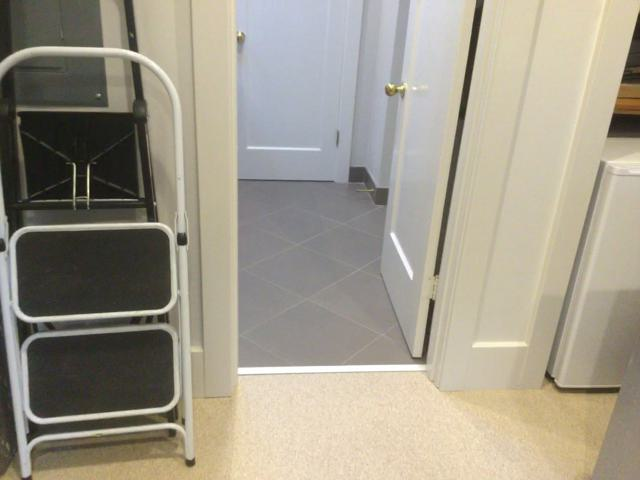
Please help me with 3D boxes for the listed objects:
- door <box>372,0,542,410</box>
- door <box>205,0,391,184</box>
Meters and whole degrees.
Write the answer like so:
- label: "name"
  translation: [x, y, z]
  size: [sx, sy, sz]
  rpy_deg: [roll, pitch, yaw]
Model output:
- label: "door"
  translation: [0.410, -0.540, 1.920]
  size: [0.150, 2.010, 0.910]
  rpy_deg: [0, 25, -6]
- label: "door"
  translation: [-0.120, -1.310, 3.280]
  size: [1.040, 2.060, 0.070]
  rpy_deg: [0, 25, -6]
